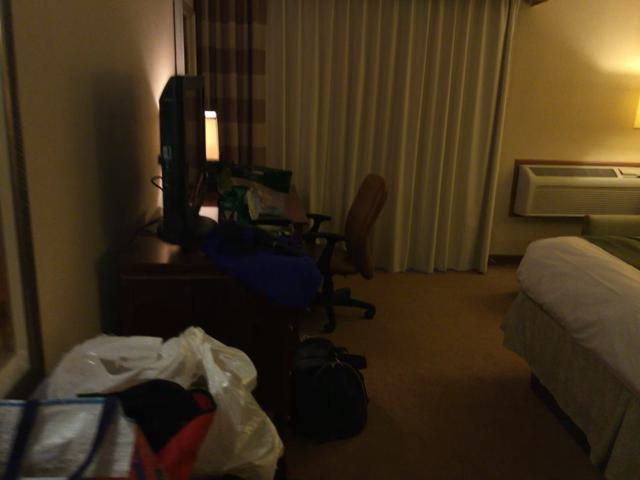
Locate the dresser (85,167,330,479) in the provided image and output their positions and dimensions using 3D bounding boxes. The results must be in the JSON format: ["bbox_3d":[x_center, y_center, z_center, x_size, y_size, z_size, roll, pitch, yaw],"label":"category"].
[{"bbox_3d":[-0.340,0.300,2.160,0.680,1.010,0.830,-1,16,-4],"label":"dresser"}]

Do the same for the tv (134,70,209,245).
[{"bbox_3d":[-0.430,-0.250,1.720,0.150,0.490,0.210,-1,16,-4],"label":"tv"}]

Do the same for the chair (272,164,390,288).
[{"bbox_3d":[0.040,-0.110,3.550,0.650,0.620,0.610,-1,16,-4],"label":"chair"}]
